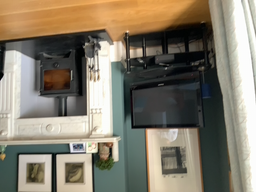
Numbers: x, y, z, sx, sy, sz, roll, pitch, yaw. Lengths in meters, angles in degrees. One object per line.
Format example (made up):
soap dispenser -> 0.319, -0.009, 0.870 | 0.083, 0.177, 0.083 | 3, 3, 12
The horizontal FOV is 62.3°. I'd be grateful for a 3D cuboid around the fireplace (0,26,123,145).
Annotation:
fireplace -> -1.000, -0.060, 2.960 | 1.710, 1.350, 0.880 | -3, 173, 8
